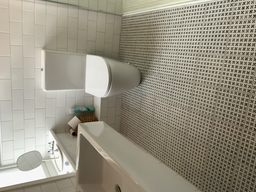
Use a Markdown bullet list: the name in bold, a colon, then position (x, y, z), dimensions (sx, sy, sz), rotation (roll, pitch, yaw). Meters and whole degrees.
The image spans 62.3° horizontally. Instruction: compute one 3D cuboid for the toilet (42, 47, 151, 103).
- **toilet**: position (-0.310, -0.220, 1.970), dimensions (0.610, 0.810, 0.380), rotation (24, 112, 55)
